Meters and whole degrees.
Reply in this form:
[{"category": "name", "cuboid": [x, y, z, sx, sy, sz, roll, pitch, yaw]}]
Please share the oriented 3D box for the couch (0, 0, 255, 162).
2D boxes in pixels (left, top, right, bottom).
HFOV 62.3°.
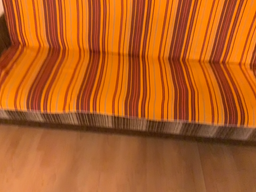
[{"category": "couch", "cuboid": [0.050, -0.300, 1.520, 2.200, 0.940, 1.000, 6, 47, -1]}]
